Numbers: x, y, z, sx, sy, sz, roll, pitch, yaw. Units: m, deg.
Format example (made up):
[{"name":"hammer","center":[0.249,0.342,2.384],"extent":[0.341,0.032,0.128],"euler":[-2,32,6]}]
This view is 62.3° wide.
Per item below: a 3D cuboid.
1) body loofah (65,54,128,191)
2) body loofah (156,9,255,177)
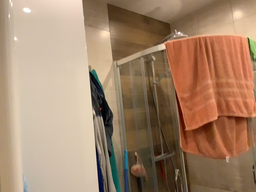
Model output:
[{"name":"body loofah","center":[-0.200,0.320,1.400],"extent":[0.270,1.130,0.210],"euler":[-1,-7,-44]},{"name":"body loofah","center":[0.600,-0.030,1.410],"extent":[0.670,0.940,0.330],"euler":[-5,-5,-4]}]
